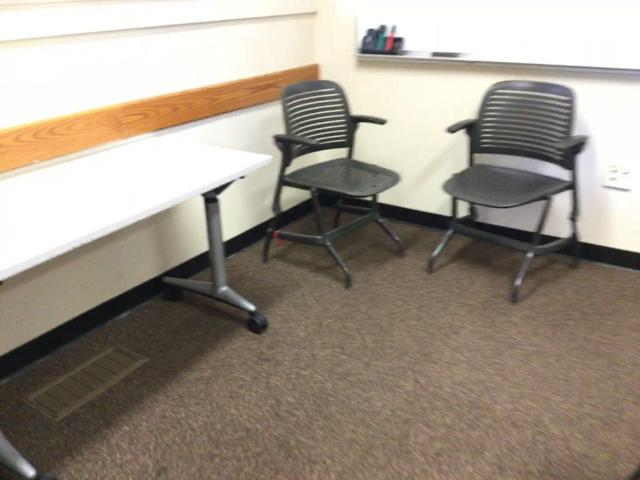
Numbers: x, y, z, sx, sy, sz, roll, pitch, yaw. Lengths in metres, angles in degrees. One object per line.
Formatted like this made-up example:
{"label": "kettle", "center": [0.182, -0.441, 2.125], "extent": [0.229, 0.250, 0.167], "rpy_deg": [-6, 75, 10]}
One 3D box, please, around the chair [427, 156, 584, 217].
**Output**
{"label": "chair", "center": [0.820, -0.250, 2.540], "extent": [0.520, 0.090, 0.500], "rpy_deg": [9, 26, 34]}

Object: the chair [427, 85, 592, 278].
{"label": "chair", "center": [0.820, -0.280, 2.540], "extent": [0.570, 0.720, 0.370], "rpy_deg": [9, 26, 34]}

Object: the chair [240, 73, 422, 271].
{"label": "chair", "center": [0.070, -0.360, 2.730], "extent": [0.590, 0.750, 0.540], "rpy_deg": [-22, 27, -36]}
